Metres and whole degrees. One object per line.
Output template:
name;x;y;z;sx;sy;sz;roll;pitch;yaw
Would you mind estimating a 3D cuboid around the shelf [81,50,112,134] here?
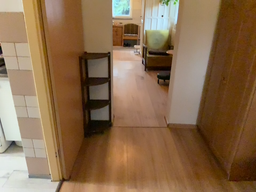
shelf;-0.360;-0.040;2.570;0.290;0.970;0.300;3;24;2
